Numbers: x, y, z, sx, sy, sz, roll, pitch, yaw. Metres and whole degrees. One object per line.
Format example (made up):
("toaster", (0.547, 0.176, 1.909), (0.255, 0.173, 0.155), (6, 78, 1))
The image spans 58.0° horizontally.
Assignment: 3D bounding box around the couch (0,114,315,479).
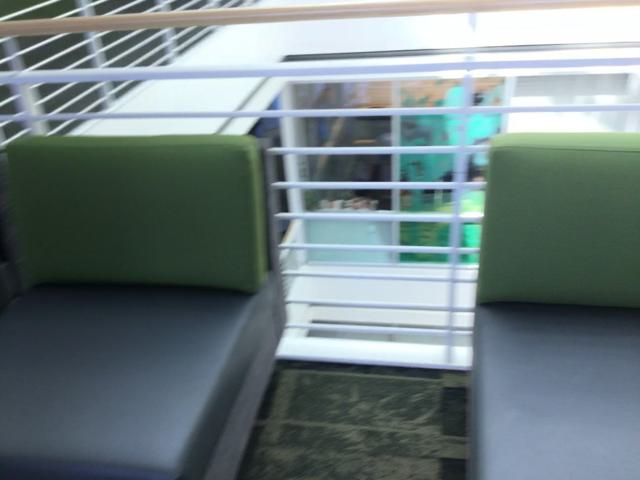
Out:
("couch", (-0.490, 0.240, 1.390), (0.740, 0.860, 0.720), (-1, 27, 12))
